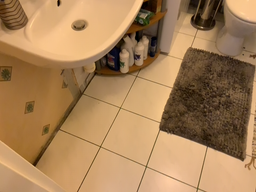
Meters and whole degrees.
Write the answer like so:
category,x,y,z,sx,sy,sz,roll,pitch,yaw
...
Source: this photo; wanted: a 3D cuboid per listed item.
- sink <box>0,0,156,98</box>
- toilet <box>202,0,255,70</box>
category,x,y,z,sx,sy,sz,roll,pitch,yaw
sink,-0.170,-0.320,0.790,0.410,0.130,0.580,20,59,12
toilet,0.890,-0.700,1.520,0.360,0.710,0.640,20,60,12
